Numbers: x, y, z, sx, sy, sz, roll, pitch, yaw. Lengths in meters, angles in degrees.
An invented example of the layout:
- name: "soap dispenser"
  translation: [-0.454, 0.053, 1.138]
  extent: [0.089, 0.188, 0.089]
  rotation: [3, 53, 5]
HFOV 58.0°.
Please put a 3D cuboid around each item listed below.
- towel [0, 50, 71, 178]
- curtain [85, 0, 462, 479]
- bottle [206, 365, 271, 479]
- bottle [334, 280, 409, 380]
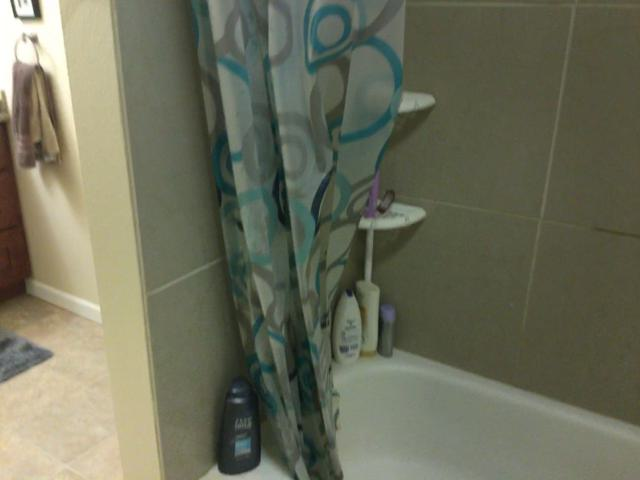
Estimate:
- name: "towel"
  translation: [-1.180, -0.510, 2.310]
  extent: [0.260, 0.460, 0.160]
  rotation: [14, 24, 29]
- name: "curtain"
  translation: [-0.050, -0.060, 1.030]
  extent: [0.380, 1.730, 0.480]
  rotation: [14, 24, 29]
- name: "bottle"
  translation: [-0.180, 0.420, 1.300]
  extent: [0.090, 0.230, 0.110]
  rotation: [14, 24, 29]
- name: "bottle"
  translation: [0.150, 0.260, 1.700]
  extent: [0.160, 0.220, 0.140]
  rotation: [14, 24, 29]
